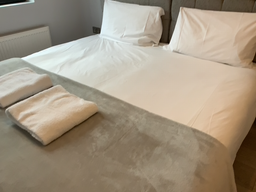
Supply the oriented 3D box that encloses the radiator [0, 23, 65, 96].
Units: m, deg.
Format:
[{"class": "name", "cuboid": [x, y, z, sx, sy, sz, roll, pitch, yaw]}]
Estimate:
[{"class": "radiator", "cuboid": [-1.300, -0.380, 2.360, 0.130, 0.590, 1.260, 21, 37, 32]}]
